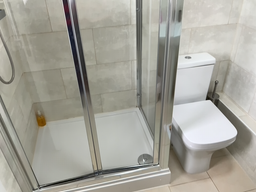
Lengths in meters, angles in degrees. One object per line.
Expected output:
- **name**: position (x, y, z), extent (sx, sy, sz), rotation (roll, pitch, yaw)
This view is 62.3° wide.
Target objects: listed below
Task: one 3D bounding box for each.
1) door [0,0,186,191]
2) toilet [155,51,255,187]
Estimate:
- **door**: position (-0.230, -0.180, 0.960), extent (0.980, 2.070, 0.050), rotation (-8, 34, -9)
- **toilet**: position (0.510, 0.160, 1.620), extent (0.410, 0.790, 0.590), rotation (-7, 34, -9)
